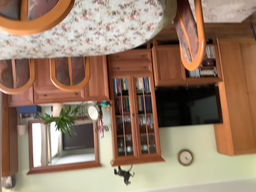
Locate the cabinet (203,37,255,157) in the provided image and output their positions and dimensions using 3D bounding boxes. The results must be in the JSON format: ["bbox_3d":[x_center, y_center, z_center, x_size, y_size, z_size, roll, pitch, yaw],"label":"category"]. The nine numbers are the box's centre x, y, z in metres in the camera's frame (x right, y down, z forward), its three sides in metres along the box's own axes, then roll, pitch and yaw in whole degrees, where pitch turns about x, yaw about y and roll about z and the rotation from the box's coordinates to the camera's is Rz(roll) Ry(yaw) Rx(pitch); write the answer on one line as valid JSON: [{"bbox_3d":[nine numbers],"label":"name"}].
[{"bbox_3d":[1.930,0.000,3.770,0.800,1.970,0.510,-3,173,-7],"label":"cabinet"}]

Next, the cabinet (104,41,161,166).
[{"bbox_3d":[0.040,0.100,3.590,0.780,1.970,0.420,-3,173,-7],"label":"cabinet"}]

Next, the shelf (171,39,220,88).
[{"bbox_3d":[1.170,-0.560,3.780,0.630,0.750,0.480,-3,173,-7],"label":"shelf"}]

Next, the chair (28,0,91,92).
[{"bbox_3d":[-0.510,-0.580,1.660,0.390,1.020,0.490,-2,173,-11],"label":"chair"}]
